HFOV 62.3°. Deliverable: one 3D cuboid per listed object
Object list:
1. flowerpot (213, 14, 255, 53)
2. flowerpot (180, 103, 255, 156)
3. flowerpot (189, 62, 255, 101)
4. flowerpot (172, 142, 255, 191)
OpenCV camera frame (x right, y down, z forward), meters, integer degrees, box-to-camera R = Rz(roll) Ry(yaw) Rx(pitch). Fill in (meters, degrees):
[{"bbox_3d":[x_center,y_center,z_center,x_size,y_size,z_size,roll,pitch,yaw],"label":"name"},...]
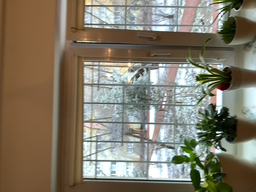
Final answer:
[{"bbox_3d":[0.620,-0.360,1.250,0.190,0.150,0.170,-127,39,-89],"label":"flowerpot"},{"bbox_3d":[0.520,0.180,1.230,0.250,0.370,0.260,170,101,-89],"label":"flowerpot"},{"bbox_3d":[0.550,-0.080,1.250,0.230,0.310,0.200,-170,82,-89],"label":"flowerpot"},{"bbox_3d":[0.500,0.430,1.220,0.230,0.440,0.270,-112,23,-89],"label":"flowerpot"}]
